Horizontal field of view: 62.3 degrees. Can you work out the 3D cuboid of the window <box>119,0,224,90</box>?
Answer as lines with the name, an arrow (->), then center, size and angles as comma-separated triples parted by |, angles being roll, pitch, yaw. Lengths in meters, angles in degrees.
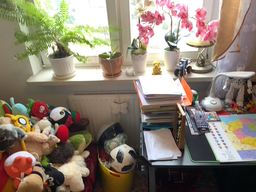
window -> 0.290, -0.750, 1.500 | 0.690, 1.450, 0.260 | -1, 30, 4

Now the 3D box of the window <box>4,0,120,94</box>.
window -> -0.470, -0.790, 1.600 | 0.690, 1.460, 0.510 | -2, 30, 3

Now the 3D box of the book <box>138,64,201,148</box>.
book -> 0.220, 0.020, 1.350 | 0.260, 0.230, 0.610 | -3, 30, 0
